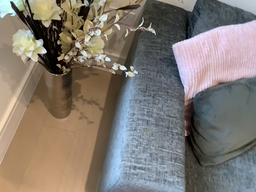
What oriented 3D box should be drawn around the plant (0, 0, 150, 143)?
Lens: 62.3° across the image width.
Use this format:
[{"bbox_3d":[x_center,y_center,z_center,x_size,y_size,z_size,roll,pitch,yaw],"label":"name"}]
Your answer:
[{"bbox_3d":[-0.240,-0.300,0.920,0.470,1.170,0.570,13,57,-8],"label":"plant"}]
